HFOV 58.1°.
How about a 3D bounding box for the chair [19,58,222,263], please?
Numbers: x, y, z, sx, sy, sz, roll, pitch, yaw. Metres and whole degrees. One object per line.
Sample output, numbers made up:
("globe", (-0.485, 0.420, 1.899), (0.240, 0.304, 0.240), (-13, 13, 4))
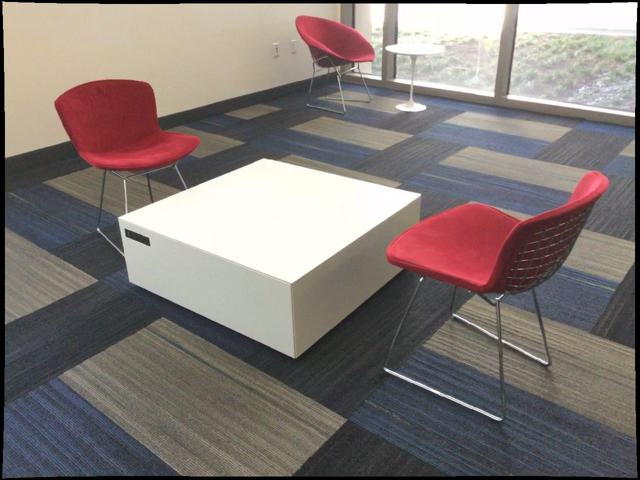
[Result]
("chair", (-0.938, -0.421, 2.810), (0.619, 0.752, 0.580), (20, 34, 34))

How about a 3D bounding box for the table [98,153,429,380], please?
("table", (-0.219, 0.010, 2.540), (0.999, 0.341, 0.999), (20, 34, 34))

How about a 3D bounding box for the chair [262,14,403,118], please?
("chair", (0.120, -1.574, 5.100), (0.849, 0.671, 0.879), (20, 34, 34))

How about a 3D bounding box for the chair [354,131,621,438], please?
("chair", (0.519, 0.090, 1.880), (0.579, 0.671, 0.580), (20, 34, 34))
